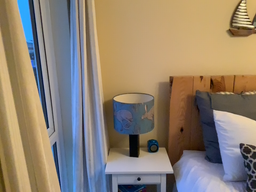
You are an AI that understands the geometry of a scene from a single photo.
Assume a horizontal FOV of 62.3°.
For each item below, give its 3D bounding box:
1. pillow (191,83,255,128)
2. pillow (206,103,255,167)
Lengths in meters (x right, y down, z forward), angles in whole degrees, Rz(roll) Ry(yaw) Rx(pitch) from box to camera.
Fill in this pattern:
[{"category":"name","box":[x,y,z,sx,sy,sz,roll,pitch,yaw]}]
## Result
[{"category":"pillow","box":[0.780,0.060,1.540,0.560,0.270,0.130,-4,-40,-1]},{"category":"pillow","box":[0.830,0.220,1.340,0.520,0.380,0.160,-4,-58,-2]}]
